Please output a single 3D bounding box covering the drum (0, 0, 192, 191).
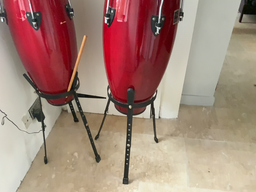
[{"bbox_3d":[-0.170,-0.120,1.250,0.900,1.180,0.600,10,38,12],"label":"drum"}]
